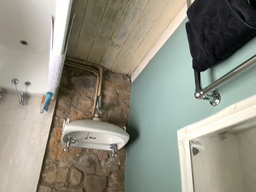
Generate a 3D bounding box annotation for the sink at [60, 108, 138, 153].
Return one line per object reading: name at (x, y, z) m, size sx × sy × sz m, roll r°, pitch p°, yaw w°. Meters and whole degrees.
sink at (-0.270, 0.340, 1.970) m, size 0.630 × 0.240 × 0.350 m, roll 12°, pitch 153°, yaw -18°
